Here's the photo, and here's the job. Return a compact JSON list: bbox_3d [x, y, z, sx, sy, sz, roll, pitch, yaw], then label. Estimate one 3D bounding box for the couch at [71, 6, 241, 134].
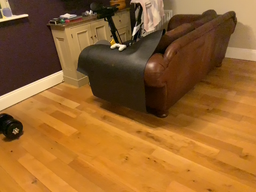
[{"bbox_3d":[0.540,-0.590,2.840,1.040,0.810,2.220,19,38,37],"label":"couch"}]
